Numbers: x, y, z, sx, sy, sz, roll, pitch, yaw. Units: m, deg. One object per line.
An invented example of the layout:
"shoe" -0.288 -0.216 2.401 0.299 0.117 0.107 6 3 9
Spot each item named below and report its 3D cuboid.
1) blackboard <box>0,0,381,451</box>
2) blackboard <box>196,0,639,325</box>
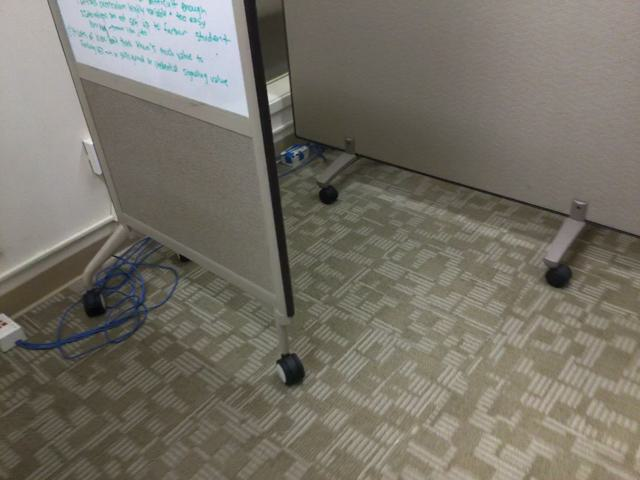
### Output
"blackboard" -0.380 -0.300 1.330 0.880 1.400 0.400 22 45 36
"blackboard" 0.340 -0.560 1.820 1.710 1.160 0.370 22 45 36
